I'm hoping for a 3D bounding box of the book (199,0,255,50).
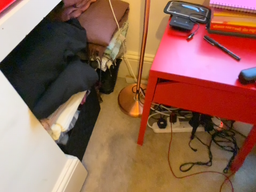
[{"bbox_3d":[0.370,-0.260,0.680,0.230,0.070,0.240,13,54,14],"label":"book"}]
